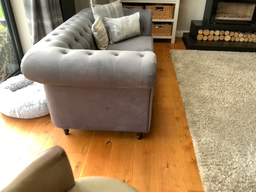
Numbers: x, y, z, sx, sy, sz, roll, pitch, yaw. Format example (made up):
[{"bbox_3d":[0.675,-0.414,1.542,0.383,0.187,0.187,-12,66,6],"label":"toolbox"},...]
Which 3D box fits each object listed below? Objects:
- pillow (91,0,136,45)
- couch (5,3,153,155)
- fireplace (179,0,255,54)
[{"bbox_3d":[-0.150,-0.910,2.480,0.380,0.430,0.290,-36,74,-8],"label":"pillow"},{"bbox_3d":[-0.210,-0.400,2.190,0.840,0.740,1.870,5,32,4],"label":"couch"},{"bbox_3d":[1.720,-1.260,3.590,1.470,0.790,0.830,4,32,3],"label":"fireplace"}]
